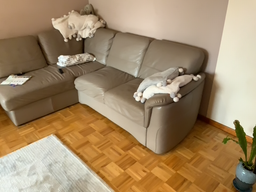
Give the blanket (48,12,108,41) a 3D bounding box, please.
[{"bbox_3d":[-0.750,-1.080,3.230,0.700,0.280,0.510,-25,38,-38],"label":"blanket"}]
